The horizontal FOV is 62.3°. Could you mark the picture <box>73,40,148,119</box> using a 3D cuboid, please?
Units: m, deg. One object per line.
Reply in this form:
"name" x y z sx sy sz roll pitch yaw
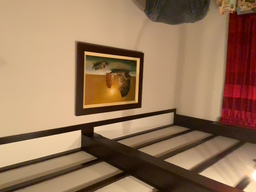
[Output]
"picture" -0.170 -0.210 2.800 0.100 0.880 1.180 9 -170 44
